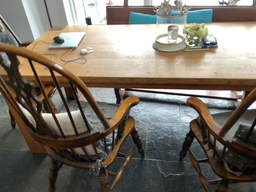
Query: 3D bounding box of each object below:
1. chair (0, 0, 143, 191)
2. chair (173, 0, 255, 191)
[{"bbox_3d":[-0.260,0.110,1.230,0.600,1.140,0.580,6,38,12],"label":"chair"},{"bbox_3d":[0.630,0.160,1.080,0.560,1.130,0.610,-5,37,-2],"label":"chair"}]
